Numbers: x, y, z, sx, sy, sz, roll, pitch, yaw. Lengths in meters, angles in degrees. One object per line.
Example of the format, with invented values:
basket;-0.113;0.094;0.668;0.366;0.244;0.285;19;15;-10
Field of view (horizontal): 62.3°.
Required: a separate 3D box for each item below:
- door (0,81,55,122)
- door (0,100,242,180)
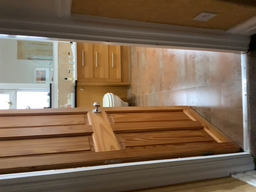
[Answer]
door;-1.780;0.090;3.520;0.260;1.080;0.640;164;105;-71
door;-0.320;0.220;1.400;0.660;2.070;0.110;-126;40;-61
